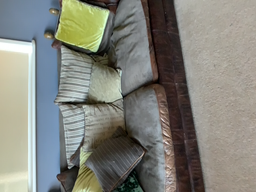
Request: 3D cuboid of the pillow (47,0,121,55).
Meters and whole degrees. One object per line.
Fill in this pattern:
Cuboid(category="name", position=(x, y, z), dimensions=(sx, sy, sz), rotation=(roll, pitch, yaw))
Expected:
Cuboid(category="pillow", position=(-0.410, -0.670, 2.010), dimensions=(0.480, 0.450, 0.220), rotation=(-25, 67, 25))

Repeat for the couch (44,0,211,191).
Cuboid(category="couch", position=(-0.150, 0.020, 1.830), dimensions=(1.050, 0.870, 2.100), rotation=(-25, 67, 56))
